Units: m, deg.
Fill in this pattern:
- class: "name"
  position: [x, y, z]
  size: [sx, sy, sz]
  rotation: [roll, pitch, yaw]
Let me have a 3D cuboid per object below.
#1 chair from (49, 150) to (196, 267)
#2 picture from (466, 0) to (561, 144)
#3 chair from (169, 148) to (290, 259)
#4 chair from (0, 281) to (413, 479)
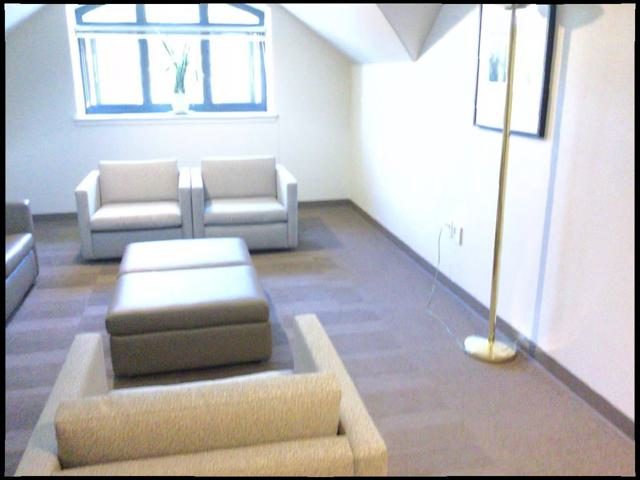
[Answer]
- class: "chair"
  position: [-1.587, -0.311, 4.820]
  size: [1.008, 0.721, 0.950]
  rotation: [-3, 18, -14]
- class: "picture"
  position: [0.998, -0.992, 3.040]
  size: [0.080, 0.872, 0.660]
  rotation: [-3, 18, -13]
- class: "chair"
  position: [-0.808, -0.361, 5.040]
  size: [0.938, 0.741, 0.900]
  rotation: [-3, 18, -14]
- class: "chair"
  position: [-0.349, 0.661, 1.730]
  size: [0.938, 0.751, 0.860]
  rotation: [-3, 18, -13]
